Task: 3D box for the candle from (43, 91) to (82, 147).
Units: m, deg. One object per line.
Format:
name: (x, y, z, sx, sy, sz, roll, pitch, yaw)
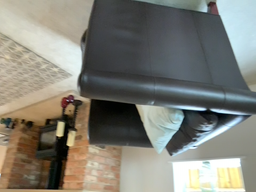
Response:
candle: (-0.870, 0.310, 2.850, 0.340, 0.680, 0.220, -13, 150, 29)
